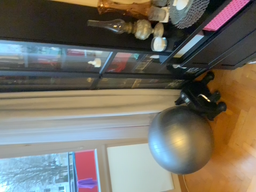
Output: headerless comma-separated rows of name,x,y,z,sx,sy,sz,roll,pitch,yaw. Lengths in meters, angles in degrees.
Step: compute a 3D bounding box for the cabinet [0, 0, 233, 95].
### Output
cabinet,-0.420,-0.310,1.620,0.810,2.430,0.330,138,126,-58
